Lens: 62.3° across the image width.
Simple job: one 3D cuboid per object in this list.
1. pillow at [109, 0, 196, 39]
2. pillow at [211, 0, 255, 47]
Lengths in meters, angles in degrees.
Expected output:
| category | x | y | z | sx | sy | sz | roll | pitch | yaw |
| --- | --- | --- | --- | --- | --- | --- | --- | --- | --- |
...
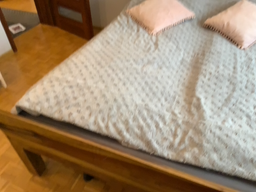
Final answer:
| category | x | y | z | sx | sy | sz | roll | pitch | yaw |
| --- | --- | --- | --- | --- | --- | --- | --- | --- | --- |
| pillow | 0.260 | -0.810 | 2.000 | 0.610 | 0.140 | 0.690 | 17 | 45 | 18 |
| pillow | 1.040 | -0.630 | 1.760 | 0.530 | 0.110 | 0.740 | 18 | 45 | 20 |
